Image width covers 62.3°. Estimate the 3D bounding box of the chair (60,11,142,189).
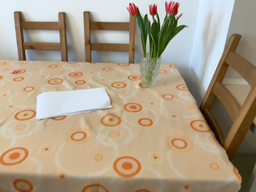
[{"bbox_3d":[-0.130,0.030,1.410,0.360,1.050,0.520,2,27,1],"label":"chair"}]
